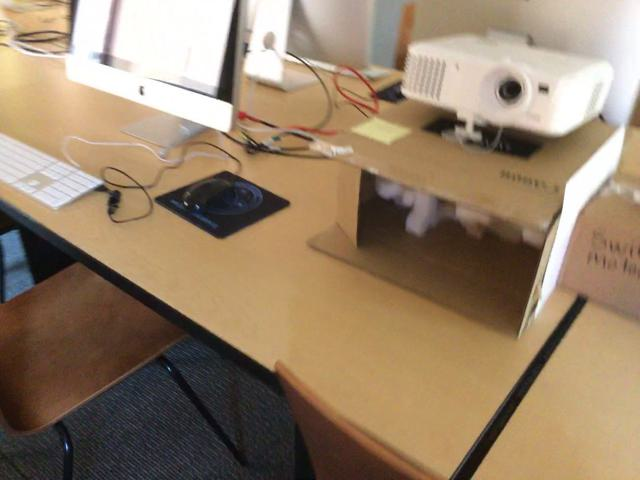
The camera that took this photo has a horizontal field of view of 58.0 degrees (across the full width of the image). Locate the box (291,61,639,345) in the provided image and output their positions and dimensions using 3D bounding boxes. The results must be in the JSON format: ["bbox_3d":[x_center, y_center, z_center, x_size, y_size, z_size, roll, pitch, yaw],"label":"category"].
[{"bbox_3d":[0.250,-0.110,0.980,0.410,0.210,0.440,24,39,30],"label":"box"}]

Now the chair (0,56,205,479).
[{"bbox_3d":[-0.570,0.060,0.980,0.500,0.540,0.490,24,39,30],"label":"chair"}]

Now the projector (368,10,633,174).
[{"bbox_3d":[0.300,-0.270,0.980,0.330,0.140,0.270,24,39,30],"label":"projector"}]
